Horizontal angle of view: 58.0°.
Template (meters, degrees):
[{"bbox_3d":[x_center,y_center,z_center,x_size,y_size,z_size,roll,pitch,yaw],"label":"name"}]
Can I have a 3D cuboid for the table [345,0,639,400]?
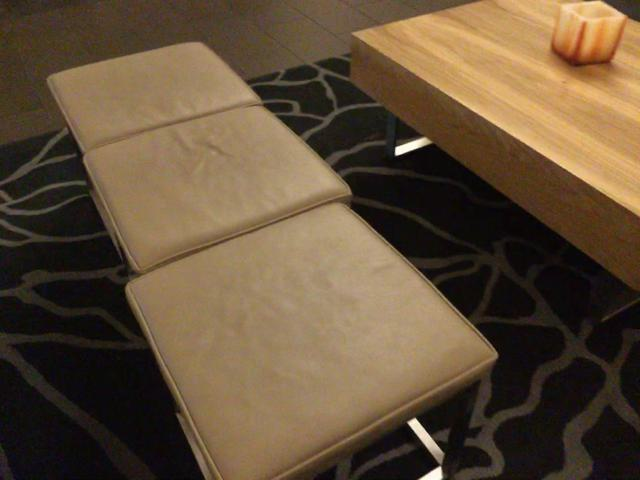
[{"bbox_3d":[0.830,-0.330,1.840,0.940,0.490,1.310,-22,46,-21],"label":"table"}]
